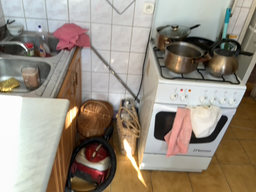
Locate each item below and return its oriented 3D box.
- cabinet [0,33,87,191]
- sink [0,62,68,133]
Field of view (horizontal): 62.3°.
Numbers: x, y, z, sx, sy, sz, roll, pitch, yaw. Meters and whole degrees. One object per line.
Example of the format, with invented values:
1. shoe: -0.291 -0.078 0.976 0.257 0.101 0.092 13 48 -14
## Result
1. cabinet: -0.610 0.110 1.480 0.540 0.790 0.810 3 35 -5
2. sink: -0.580 -0.010 1.130 0.430 0.170 0.380 3 35 -5
